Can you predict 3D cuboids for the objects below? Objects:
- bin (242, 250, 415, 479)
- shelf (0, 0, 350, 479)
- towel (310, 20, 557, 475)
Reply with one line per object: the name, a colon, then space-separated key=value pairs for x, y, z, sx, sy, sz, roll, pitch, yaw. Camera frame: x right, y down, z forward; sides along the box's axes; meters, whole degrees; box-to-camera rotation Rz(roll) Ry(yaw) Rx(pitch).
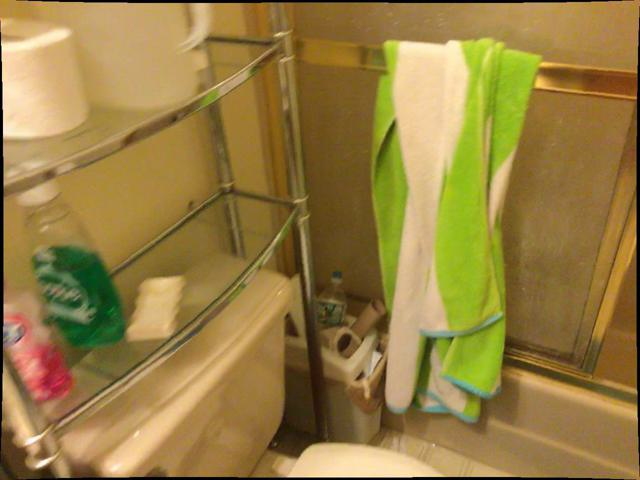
bin: x=0.040 y=0.330 z=1.500 sx=0.350 sy=0.510 sz=0.220 roll=13 pitch=37 yaw=25
shelf: x=-0.260 y=0.100 z=0.980 sx=0.280 sy=1.491 sz=0.710 roll=13 pitch=37 yaw=25
towel: x=0.230 y=0.060 z=1.250 sx=0.370 sy=0.971 sz=0.210 roll=13 pitch=37 yaw=25
